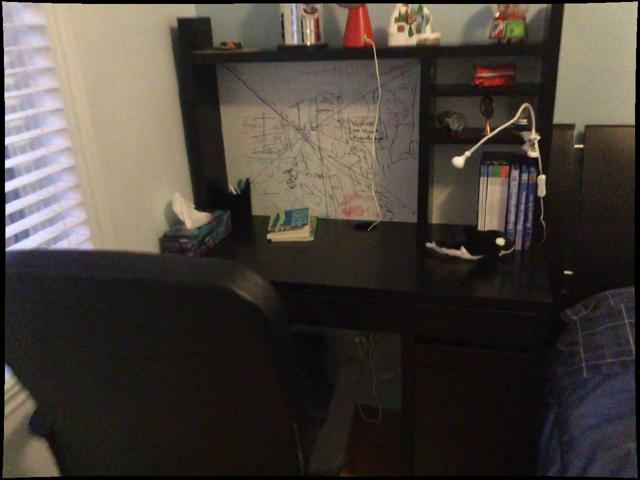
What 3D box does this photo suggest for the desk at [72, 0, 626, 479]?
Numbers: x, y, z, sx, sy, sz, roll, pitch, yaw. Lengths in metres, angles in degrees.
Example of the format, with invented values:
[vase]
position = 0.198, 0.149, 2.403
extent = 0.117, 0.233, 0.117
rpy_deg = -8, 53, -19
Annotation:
[desk]
position = 0.100, 0.040, 1.680
extent = 1.129, 1.371, 0.600
rpy_deg = 3, 24, 15
